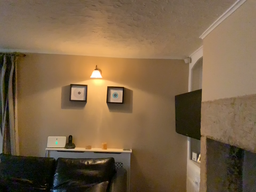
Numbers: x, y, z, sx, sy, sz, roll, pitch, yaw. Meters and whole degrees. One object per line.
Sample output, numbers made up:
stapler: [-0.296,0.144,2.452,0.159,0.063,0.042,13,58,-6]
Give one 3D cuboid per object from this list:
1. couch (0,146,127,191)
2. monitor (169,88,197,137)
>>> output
couch: [-0.930,1.140,2.410,1.790,0.860,1.160,2,-3,0]
monitor: [0.700,0.210,2.830,0.050,0.550,0.920,3,-3,-5]
